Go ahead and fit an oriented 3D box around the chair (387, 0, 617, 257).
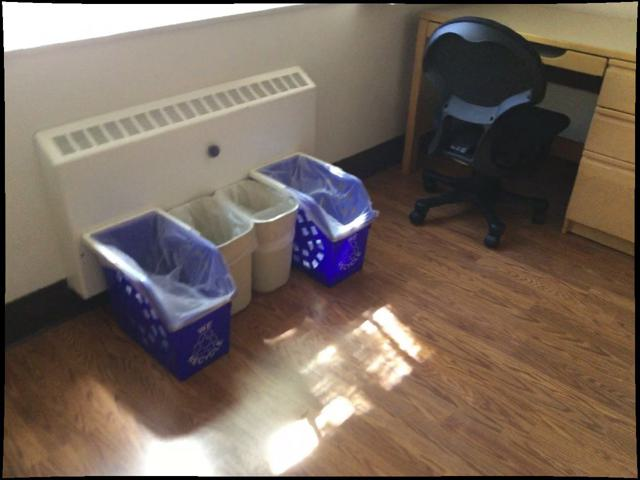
[{"bbox_3d":[0.689,-0.490,2.310,0.520,0.821,0.570,28,41,34],"label":"chair"}]
